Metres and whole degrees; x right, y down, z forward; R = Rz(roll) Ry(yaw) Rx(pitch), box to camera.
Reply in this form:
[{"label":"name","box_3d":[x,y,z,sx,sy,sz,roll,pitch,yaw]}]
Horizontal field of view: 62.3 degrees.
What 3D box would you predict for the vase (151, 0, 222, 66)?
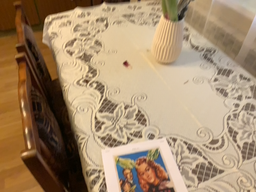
[{"label":"vase","box_3d":[0.240,-0.380,0.890,0.160,0.430,0.220,-15,48,-17]}]
